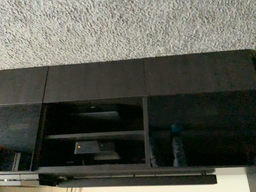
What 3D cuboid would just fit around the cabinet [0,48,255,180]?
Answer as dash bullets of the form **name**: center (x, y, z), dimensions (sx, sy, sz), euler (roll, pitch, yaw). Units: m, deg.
- **cabinet**: center (-0.180, 0.180, 1.400), dimensions (1.770, 0.640, 0.510), euler (-4, 155, 7)
